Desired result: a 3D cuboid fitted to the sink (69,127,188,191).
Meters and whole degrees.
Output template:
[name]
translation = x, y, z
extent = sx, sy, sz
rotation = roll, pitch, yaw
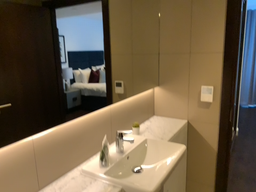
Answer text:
[sink]
translation = 0.050, 0.420, 1.370
extent = 0.490, 0.150, 0.670
rotation = 6, 15, 30
